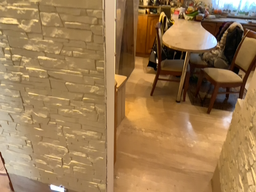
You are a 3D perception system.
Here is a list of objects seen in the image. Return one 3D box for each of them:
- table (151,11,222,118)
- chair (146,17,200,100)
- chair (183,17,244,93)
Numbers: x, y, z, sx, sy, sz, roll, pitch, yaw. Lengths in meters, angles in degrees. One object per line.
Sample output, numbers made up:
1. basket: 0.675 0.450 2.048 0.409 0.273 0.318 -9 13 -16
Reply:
1. table: 0.920 -0.730 3.500 0.650 0.880 2.400 9 31 10
2. chair: 0.600 -0.520 2.980 0.550 1.010 0.430 9 31 10
3. chair: 1.230 -0.620 3.220 0.580 1.000 0.420 8 31 8
